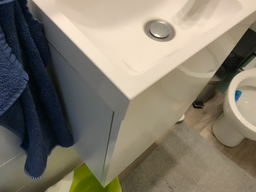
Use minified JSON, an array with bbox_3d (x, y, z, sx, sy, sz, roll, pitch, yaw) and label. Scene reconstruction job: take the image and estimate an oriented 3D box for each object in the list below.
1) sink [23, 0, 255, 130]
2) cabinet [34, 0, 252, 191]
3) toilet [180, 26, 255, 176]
[{"bbox_3d":[0.070,-0.160,0.400,0.420,0.080,0.240,-34,67,-28],"label":"sink"},{"bbox_3d":[0.020,0.030,0.680,0.420,0.590,0.230,-34,67,-28],"label":"cabinet"},{"bbox_3d":[0.730,-0.080,1.030,0.660,0.790,0.370,-33,67,-28],"label":"toilet"}]
